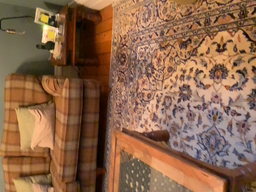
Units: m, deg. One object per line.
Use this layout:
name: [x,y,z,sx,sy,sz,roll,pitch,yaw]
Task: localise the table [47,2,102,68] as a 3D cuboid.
table: [-0.640,-0.650,2.470,0.610,0.410,0.600,10,98,55]
